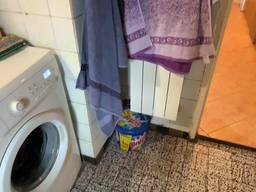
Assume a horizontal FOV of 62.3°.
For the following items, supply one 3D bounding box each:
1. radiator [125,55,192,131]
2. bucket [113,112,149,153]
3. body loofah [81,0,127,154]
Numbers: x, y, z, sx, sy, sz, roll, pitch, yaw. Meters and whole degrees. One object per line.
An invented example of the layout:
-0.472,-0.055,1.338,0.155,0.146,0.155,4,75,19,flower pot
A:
0.180,-0.010,1.410,0.390,0.470,0.110,11,38,13,radiator
0.020,0.260,1.510,0.220,0.220,0.130,11,38,13,bucket
-0.090,-0.200,1.000,0.120,1.210,0.200,10,38,13,body loofah
